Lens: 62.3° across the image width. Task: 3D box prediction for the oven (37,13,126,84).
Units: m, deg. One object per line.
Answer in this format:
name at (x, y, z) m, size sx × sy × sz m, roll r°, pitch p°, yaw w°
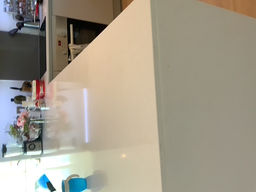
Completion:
oven at (-0.590, -0.510, 2.630) m, size 0.630 × 0.910 × 0.600 m, roll -12°, pitch 80°, yaw 60°
